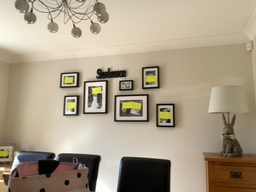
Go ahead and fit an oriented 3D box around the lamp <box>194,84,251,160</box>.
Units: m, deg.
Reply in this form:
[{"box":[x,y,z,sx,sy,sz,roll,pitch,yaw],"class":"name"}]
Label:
[{"box":[0.890,0.250,2.080,0.420,0.660,0.400,-1,-8,14],"class":"lamp"}]
